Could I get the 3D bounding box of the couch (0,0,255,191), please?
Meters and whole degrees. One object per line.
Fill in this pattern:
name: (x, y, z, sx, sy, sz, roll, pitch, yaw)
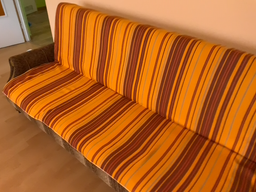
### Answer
couch: (-0.030, 0.000, 1.550, 2.180, 0.940, 1.010, 28, 45, 29)
